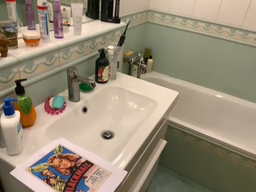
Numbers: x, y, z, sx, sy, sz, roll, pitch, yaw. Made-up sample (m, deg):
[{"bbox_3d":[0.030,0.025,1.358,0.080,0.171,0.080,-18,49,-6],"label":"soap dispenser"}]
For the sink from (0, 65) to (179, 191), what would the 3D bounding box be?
[{"bbox_3d":[-0.120,0.110,0.990,0.480,0.130,0.810,21,34,20],"label":"sink"}]

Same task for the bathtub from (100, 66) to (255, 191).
[{"bbox_3d":[0.640,0.350,1.810,1.650,0.560,0.680,22,35,22],"label":"bathtub"}]
